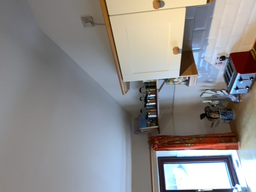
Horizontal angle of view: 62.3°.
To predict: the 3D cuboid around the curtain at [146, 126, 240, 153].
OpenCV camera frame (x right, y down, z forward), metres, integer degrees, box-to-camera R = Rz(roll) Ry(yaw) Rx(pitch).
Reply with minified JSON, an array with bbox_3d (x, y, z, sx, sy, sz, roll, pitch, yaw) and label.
[{"bbox_3d":[0.690,0.490,2.360,0.200,0.950,0.180,78,-170,-54],"label":"curtain"}]
